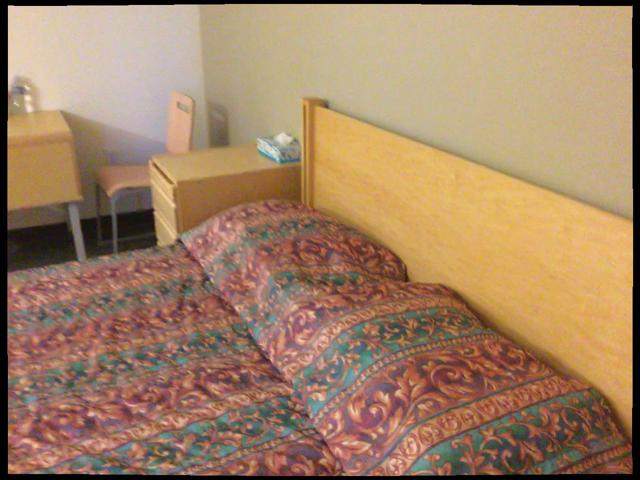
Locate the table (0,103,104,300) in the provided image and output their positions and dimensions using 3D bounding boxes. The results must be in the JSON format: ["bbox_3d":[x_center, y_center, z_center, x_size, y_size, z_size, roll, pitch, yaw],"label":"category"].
[{"bbox_3d":[-1.717,-0.190,2.910,0.999,0.791,0.680,-11,26,-23],"label":"table"}]

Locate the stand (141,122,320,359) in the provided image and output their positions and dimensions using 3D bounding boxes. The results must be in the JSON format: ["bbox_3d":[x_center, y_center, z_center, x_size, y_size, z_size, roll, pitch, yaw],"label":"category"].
[{"bbox_3d":[-0.379,-0.030,2.510,0.599,0.811,0.500,-11,26,-23],"label":"stand"}]
